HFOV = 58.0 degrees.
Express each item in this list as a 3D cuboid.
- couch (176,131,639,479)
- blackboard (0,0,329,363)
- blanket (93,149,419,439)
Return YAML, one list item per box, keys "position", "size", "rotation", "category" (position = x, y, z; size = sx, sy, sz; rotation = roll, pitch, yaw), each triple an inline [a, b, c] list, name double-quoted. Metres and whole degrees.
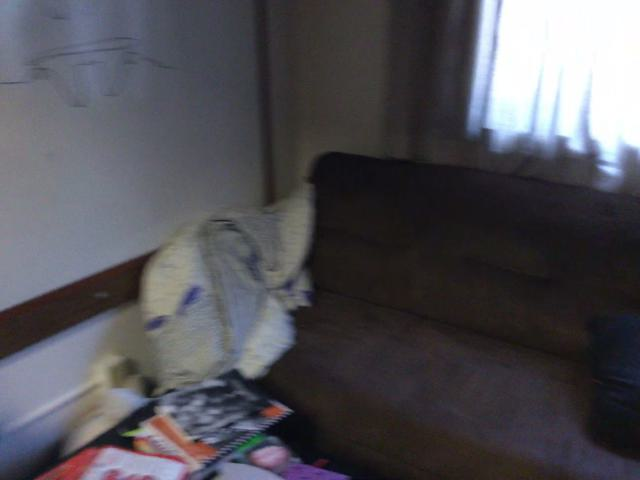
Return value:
- position: [0.660, 0.290, 1.780]
  size: [1.920, 1.040, 1.050]
  rotation: [11, 18, 29]
  category: "couch"
- position: [-0.580, -0.460, 1.690]
  size: [0.140, 1.350, 2.140]
  rotation: [11, 18, 29]
  category: "blackboard"
- position: [-0.150, 0.070, 2.110]
  size: [0.610, 0.660, 1.080]
  rotation: [11, 18, 29]
  category: "blanket"
